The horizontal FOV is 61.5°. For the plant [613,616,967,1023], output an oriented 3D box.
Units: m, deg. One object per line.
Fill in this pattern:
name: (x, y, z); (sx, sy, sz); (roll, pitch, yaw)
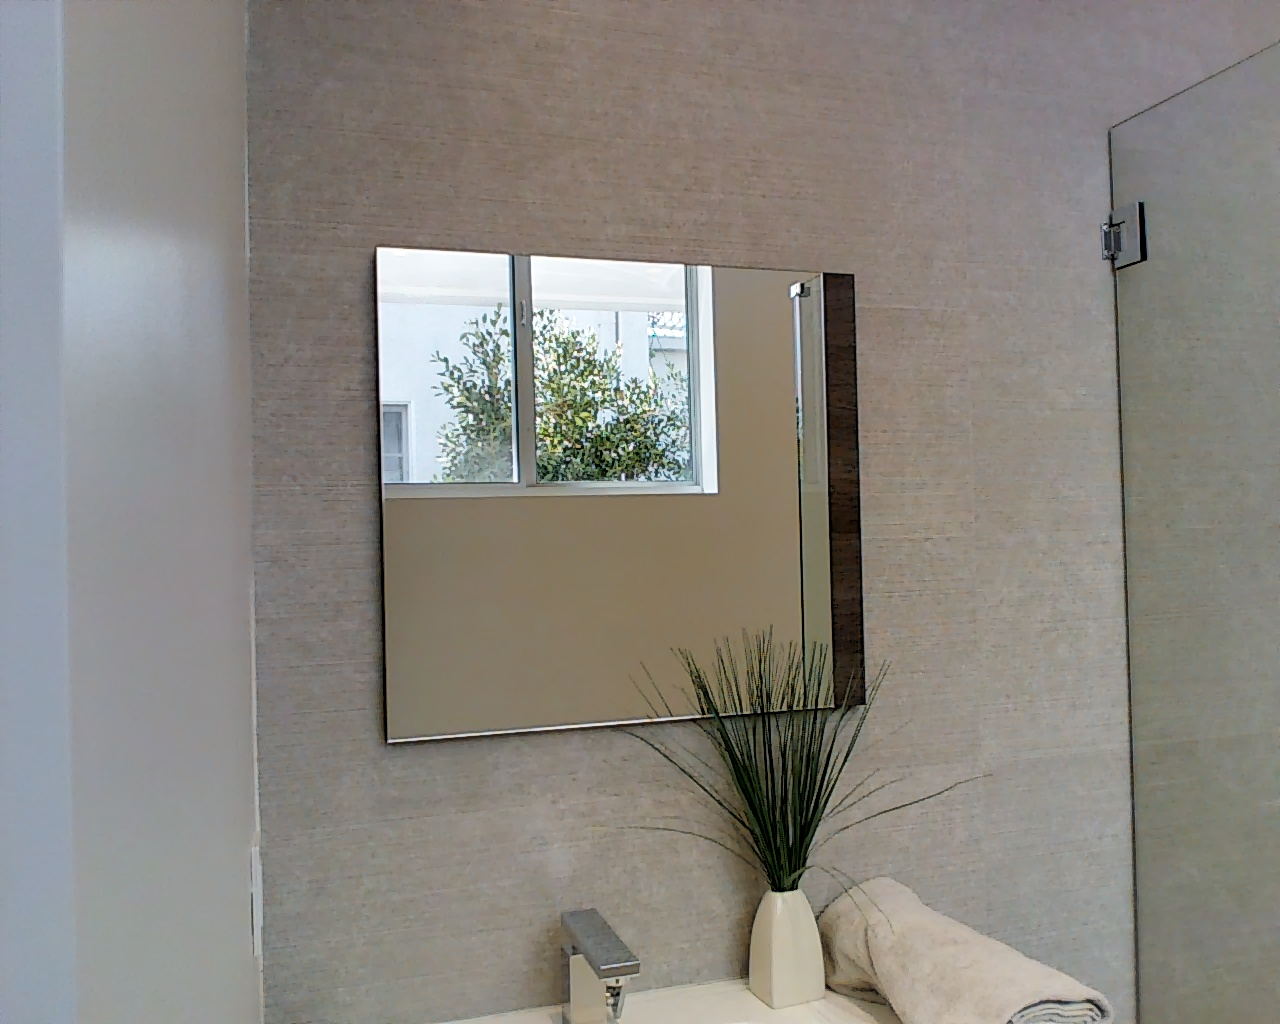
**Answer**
plant: (0.200, 0.390, 1.440); (0.440, 0.470, 0.140); (-1, -1, -18)
